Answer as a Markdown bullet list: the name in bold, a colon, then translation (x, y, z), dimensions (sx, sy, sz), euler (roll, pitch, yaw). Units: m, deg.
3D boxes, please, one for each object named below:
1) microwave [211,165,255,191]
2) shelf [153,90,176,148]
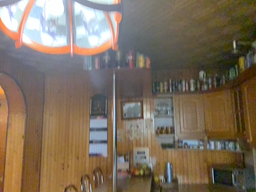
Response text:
- **microwave**: translation (1.450, 1.120, 2.910), dimensions (0.470, 0.250, 0.400), euler (0, -9, 6)
- **shelf**: translation (0.540, 0.350, 3.230), dimensions (0.300, 0.840, 0.290), euler (-2, -9, 6)
